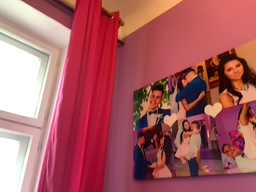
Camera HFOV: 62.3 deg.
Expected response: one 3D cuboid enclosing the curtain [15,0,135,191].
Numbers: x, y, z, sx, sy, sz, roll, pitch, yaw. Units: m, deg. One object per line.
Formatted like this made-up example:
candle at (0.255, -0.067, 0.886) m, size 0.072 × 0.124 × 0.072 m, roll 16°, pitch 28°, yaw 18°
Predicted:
curtain at (-0.330, 0.580, 1.350) m, size 0.630 × 3.180 × 0.290 m, roll 24°, pitch -32°, yaw -39°
